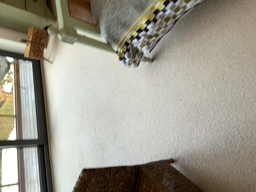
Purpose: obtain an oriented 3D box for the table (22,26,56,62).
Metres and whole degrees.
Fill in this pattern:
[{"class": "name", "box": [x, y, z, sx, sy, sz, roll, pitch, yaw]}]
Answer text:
[{"class": "table", "box": [-1.300, -0.750, 3.090, 0.260, 0.340, 0.420, 20, 100, 47]}]
